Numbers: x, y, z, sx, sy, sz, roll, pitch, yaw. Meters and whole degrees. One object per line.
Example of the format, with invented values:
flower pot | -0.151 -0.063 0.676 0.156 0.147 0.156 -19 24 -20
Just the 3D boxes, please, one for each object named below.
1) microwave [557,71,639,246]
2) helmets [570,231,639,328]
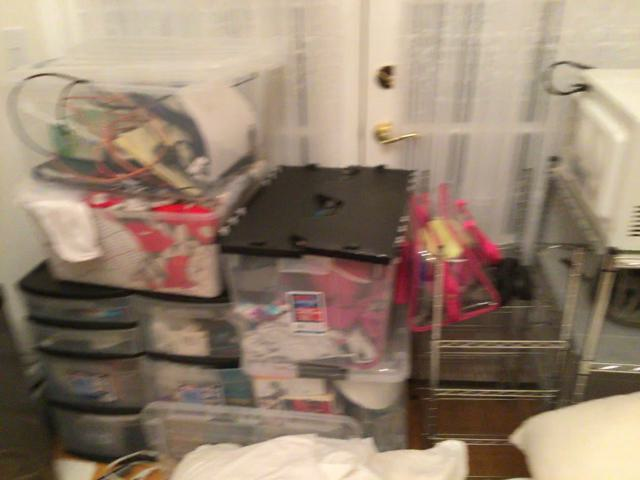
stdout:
microwave | 0.750 -0.210 1.280 0.320 0.270 0.560 3 21 13
helmets | 0.770 0.090 1.420 0.210 0.140 0.250 0 23 6
